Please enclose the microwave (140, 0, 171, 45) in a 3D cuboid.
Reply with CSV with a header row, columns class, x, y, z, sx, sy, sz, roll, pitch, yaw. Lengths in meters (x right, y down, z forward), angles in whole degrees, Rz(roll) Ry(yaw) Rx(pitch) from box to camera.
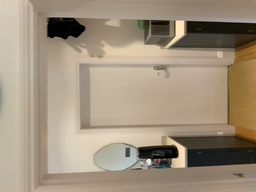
class,x,y,z,sx,sy,sz,roll,pitch,yaw
microwave,0.310,-0.890,2.470,0.400,0.270,0.500,-174,84,-83
